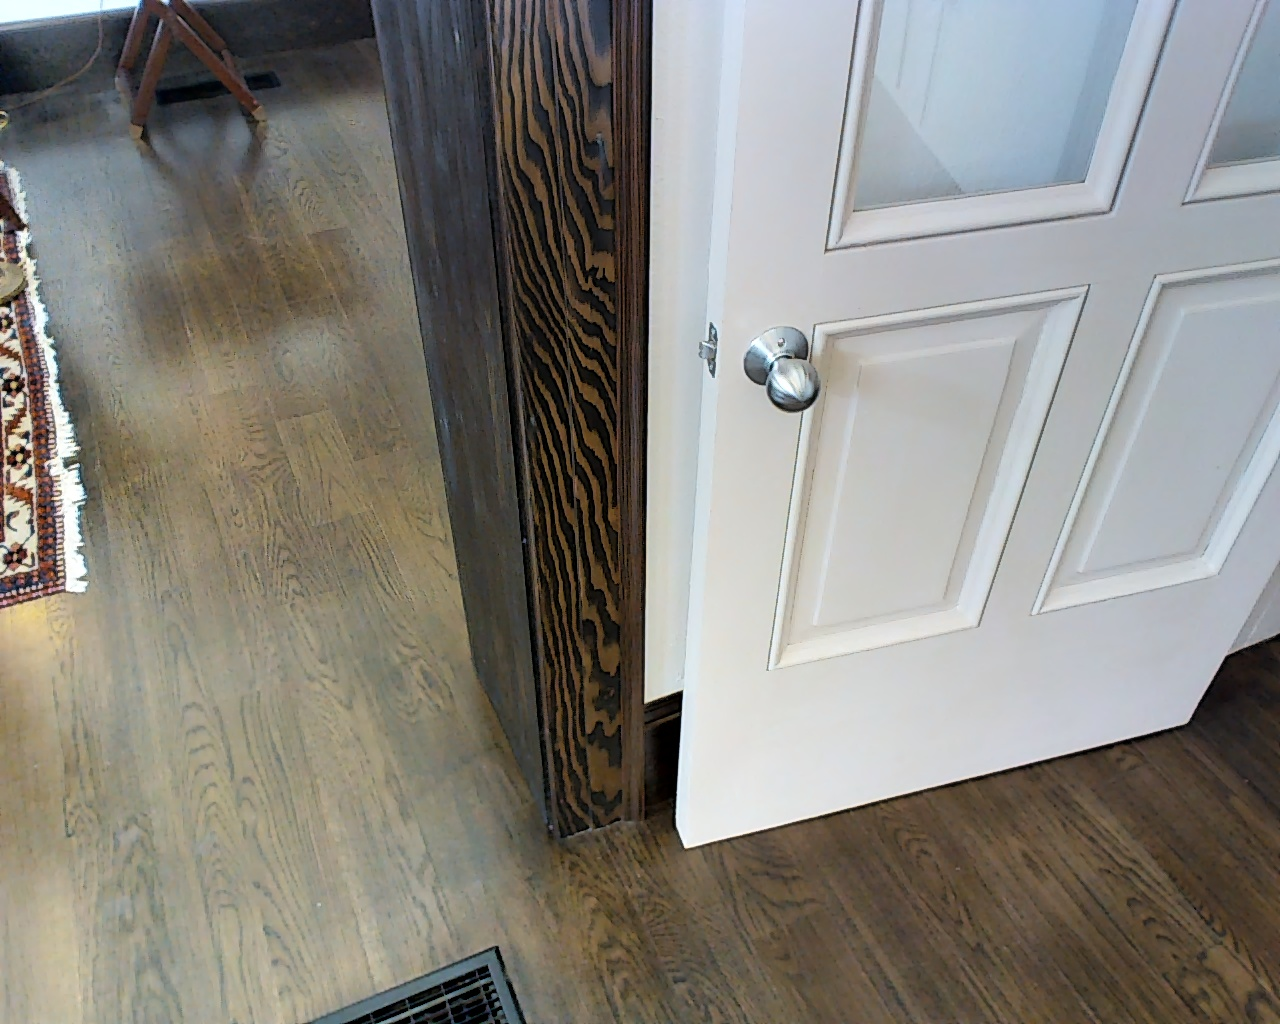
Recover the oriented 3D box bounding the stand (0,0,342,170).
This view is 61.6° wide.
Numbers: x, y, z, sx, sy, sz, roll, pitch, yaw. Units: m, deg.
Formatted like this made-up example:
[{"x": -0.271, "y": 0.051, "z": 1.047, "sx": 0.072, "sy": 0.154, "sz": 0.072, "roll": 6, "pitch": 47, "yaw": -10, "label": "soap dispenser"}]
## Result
[{"x": -1.620, "y": -1.770, "z": 3.610, "sx": 0.930, "sy": 0.830, "sz": 0.700, "roll": -17, "pitch": 45, "yaw": -19, "label": "stand"}]
